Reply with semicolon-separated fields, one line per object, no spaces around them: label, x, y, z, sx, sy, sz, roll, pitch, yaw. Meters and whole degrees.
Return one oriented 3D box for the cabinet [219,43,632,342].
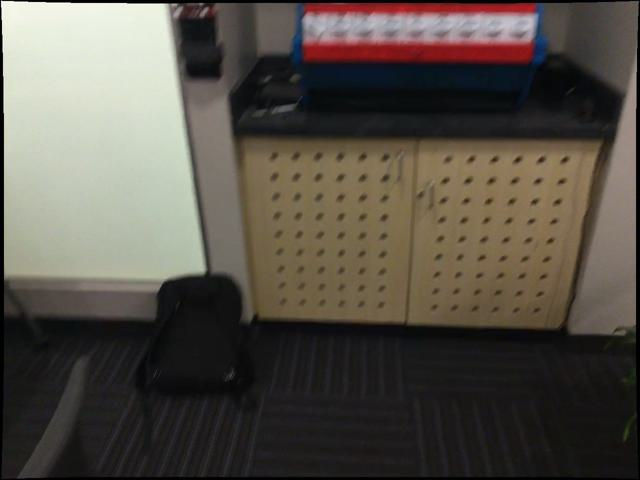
cabinet;0.339;-0.190;2.210;1.187;0.891;0.671;1;36;6

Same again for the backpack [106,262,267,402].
backpack;-0.449;0.321;2.070;0.429;0.321;0.360;1;36;6
